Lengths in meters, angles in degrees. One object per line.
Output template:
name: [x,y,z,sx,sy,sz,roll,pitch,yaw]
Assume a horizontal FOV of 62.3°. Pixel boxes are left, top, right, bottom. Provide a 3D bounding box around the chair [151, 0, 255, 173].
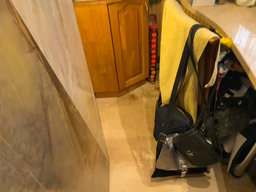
chair: [0.470,-0.030,1.220,0.550,0.960,0.390,-12,45,-8]
